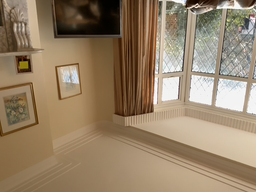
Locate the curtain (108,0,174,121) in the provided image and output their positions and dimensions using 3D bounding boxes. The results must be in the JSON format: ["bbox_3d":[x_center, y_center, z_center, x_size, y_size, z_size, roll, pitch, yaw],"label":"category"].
[{"bbox_3d":[0.170,-0.630,3.360,0.870,1.920,0.520,-3,-162,-10],"label":"curtain"}]

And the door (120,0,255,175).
[{"bbox_3d":[1.450,-0.390,2.750,2.930,2.140,1.300,13,-158,35],"label":"door"}]
